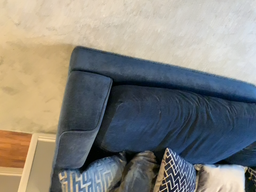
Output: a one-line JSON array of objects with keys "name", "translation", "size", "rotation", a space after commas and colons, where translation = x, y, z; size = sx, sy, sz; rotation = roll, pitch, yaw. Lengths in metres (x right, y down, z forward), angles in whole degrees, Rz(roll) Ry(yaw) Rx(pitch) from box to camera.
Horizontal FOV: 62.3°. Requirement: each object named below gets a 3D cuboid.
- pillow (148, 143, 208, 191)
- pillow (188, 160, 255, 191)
[{"name": "pillow", "translation": [0.370, 0.580, 1.460], "size": [0.130, 0.400, 0.380], "rotation": [-43, 129, 11]}, {"name": "pillow", "translation": [0.760, 0.670, 1.710], "size": [0.480, 0.230, 0.140], "rotation": [5, 113, -30]}]
